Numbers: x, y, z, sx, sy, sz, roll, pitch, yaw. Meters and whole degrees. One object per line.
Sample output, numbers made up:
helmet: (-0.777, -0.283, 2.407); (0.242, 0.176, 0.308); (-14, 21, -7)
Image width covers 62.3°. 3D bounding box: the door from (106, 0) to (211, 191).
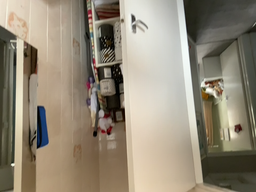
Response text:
door: (0.250, -0.320, 1.480); (0.120, 2.020, 1.050); (-10, 169, 35)
